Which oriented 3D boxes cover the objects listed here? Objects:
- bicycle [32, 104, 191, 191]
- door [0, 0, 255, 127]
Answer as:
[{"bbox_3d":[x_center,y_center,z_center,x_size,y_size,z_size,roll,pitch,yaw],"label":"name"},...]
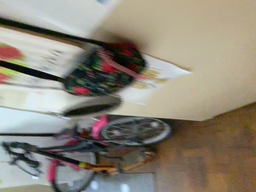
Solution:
[{"bbox_3d":[-0.200,0.380,1.540,1.080,0.580,0.440,-15,73,46],"label":"bicycle"},{"bbox_3d":[-0.150,-0.080,0.370,0.760,1.950,0.100,-24,66,44],"label":"door"}]
